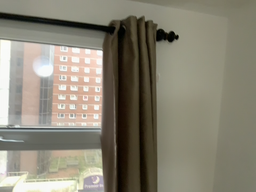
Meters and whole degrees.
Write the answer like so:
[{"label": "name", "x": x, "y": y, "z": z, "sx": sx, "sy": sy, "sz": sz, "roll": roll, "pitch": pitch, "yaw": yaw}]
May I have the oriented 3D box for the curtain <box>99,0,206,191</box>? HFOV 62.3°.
[{"label": "curtain", "x": 0.070, "y": 0.540, "z": 1.020, "sx": 0.400, "sy": 1.830, "sz": 0.170, "roll": 3, "pitch": 4, "yaw": -18}]
